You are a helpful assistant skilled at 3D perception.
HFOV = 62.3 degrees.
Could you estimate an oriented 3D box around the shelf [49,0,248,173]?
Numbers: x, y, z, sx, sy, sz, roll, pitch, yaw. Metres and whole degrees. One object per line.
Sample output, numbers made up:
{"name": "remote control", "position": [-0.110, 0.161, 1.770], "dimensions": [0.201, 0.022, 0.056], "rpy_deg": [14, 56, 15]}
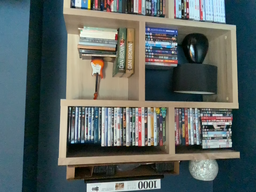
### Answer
{"name": "shelf", "position": [0.120, -0.570, 1.200], "dimensions": [0.950, 1.830, 0.340], "rpy_deg": [2, 176, -12]}
